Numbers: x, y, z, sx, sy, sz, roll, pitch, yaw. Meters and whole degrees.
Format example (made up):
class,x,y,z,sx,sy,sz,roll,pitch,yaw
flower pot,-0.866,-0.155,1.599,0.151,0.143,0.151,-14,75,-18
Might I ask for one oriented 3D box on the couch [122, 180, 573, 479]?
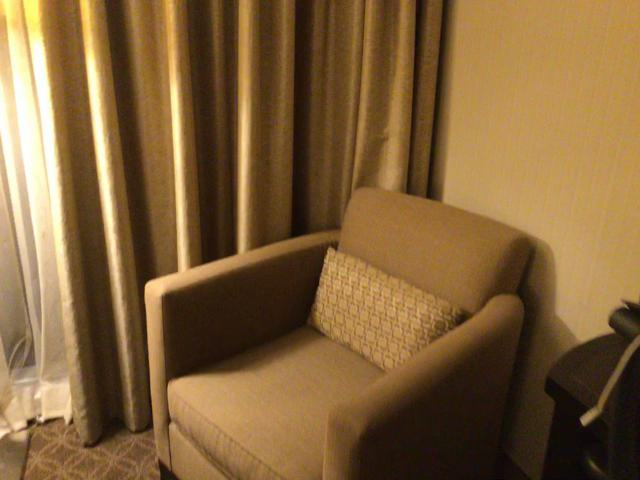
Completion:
class,x,y,z,sx,sy,sz,roll,pitch,yaw
couch,0.070,0.350,1.620,0.820,0.870,0.850,15,20,43
